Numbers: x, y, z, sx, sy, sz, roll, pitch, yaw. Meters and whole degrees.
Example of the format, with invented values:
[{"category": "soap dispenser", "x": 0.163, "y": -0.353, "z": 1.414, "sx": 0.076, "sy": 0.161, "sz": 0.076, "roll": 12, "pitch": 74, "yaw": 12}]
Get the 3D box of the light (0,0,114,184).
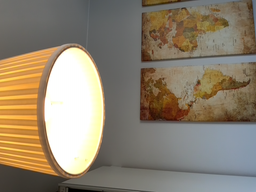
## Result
[{"category": "light", "x": -0.380, "y": 0.030, "z": 0.490, "sx": 0.610, "sy": 0.260, "sz": 0.290, "roll": -12, "pitch": 146, "yaw": 30}]
